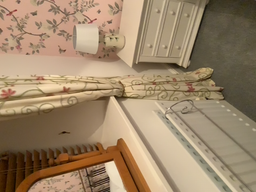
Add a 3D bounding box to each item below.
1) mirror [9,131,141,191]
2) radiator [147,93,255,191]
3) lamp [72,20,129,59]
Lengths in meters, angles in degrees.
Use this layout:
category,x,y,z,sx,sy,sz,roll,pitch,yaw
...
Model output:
category,x,y,z,sx,sy,sz,roll,pitch,yaw
mirror,-0.230,0.460,0.940,0.560,0.500,0.200,-128,34,-53
radiator,0.600,0.270,1.090,0.980,0.630,0.090,-127,41,-52
lamp,-0.240,-0.470,1.790,0.200,0.410,0.250,-129,42,-53
